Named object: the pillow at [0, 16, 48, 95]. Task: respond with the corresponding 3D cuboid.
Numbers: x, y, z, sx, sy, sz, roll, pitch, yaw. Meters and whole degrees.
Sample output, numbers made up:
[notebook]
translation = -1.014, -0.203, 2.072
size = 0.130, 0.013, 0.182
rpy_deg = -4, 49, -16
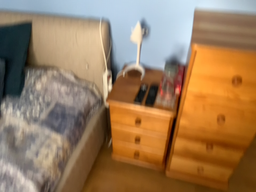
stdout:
[pillow]
translation = -0.820, -0.260, 1.300
size = 0.510, 0.400, 0.190
rpy_deg = 10, -8, 10
